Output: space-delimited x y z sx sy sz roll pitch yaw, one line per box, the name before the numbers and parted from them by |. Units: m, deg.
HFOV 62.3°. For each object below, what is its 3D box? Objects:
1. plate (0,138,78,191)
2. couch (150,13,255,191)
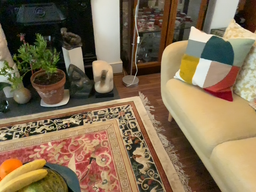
plate | -0.350 0.330 0.780 0.300 0.200 0.210 -9 39 -14
couch | 0.880 0.170 1.240 0.940 0.780 1.560 -9 39 -13
